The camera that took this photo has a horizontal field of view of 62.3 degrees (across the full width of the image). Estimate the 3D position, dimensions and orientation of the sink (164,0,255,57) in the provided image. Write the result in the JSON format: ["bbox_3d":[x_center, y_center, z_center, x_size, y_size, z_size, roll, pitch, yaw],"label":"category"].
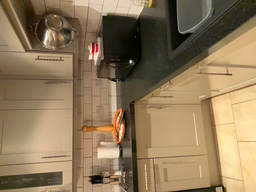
[{"bbox_3d":[0.350,-0.480,1.000,0.400,0.190,0.460,144,124,-71],"label":"sink"}]

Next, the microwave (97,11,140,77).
[{"bbox_3d":[-0.100,-0.410,1.800,0.390,0.280,0.410,152,117,-73],"label":"microwave"}]
